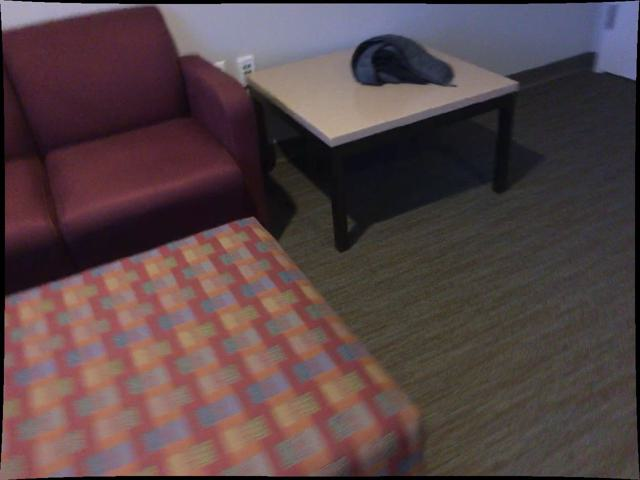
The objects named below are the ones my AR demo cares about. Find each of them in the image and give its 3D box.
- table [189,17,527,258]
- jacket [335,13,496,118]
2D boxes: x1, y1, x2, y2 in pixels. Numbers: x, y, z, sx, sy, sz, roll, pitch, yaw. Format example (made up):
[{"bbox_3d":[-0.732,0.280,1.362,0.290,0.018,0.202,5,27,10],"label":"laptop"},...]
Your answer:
[{"bbox_3d":[0.120,-0.471,2.260,0.989,0.440,0.780,-20,38,-20],"label":"table"},{"bbox_3d":[0.349,-0.671,2.170,0.459,0.200,0.360,-20,38,-20],"label":"jacket"}]
